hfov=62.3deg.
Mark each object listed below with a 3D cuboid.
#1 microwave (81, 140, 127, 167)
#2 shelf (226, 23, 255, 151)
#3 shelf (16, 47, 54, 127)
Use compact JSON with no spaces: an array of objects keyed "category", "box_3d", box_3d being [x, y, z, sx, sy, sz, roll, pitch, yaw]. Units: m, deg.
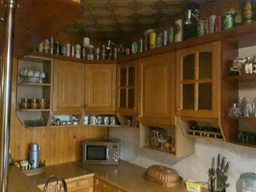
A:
[{"category":"microwave","box_3d":[-0.330,0.770,2.910,0.470,0.250,0.400,5,-4,-41]},{"category":"shelf","box_3d":[0.990,-0.060,1.520,0.290,0.870,0.430,3,-3,-40]},{"category":"shelf","box_3d":[-1.070,-0.090,2.430,0.300,0.840,0.290,3,-3,-40]}]
